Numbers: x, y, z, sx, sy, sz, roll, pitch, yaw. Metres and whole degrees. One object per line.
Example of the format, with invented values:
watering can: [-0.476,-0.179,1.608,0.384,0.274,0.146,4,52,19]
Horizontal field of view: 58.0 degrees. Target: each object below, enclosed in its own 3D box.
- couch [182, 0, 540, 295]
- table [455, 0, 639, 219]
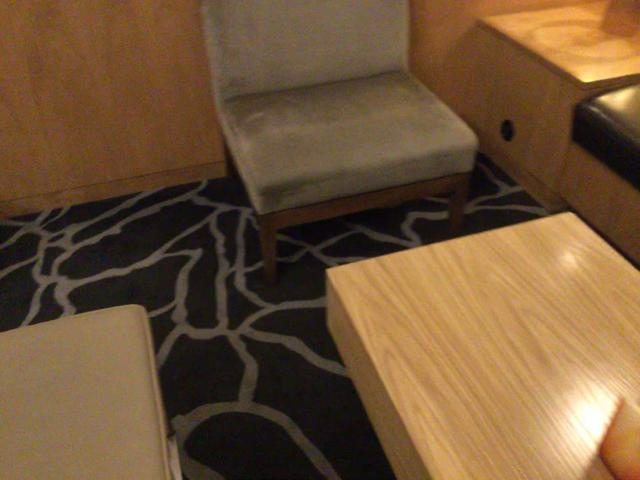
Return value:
couch: [0.060,-0.450,1.980,0.860,0.770,0.800,-12,39,-14]
table: [1.030,-0.560,2.230,0.670,0.540,0.710,-12,39,-14]
